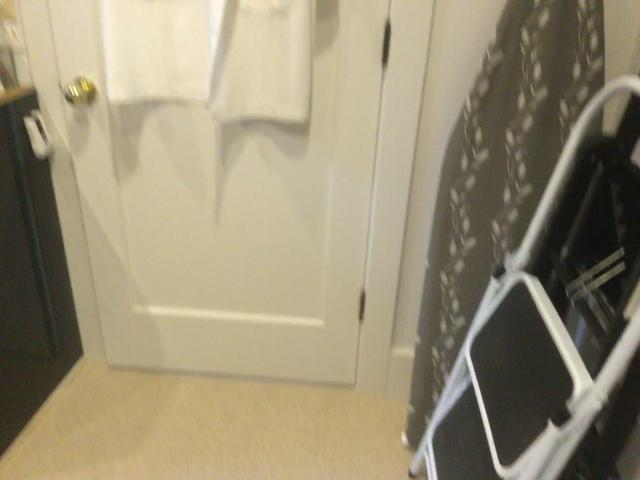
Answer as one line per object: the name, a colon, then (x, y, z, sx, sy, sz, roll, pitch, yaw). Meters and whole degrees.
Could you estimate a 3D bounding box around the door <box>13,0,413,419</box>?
door: (-0.240, -0.420, 1.330, 0.860, 2.000, 0.120, 6, 28, 4)
